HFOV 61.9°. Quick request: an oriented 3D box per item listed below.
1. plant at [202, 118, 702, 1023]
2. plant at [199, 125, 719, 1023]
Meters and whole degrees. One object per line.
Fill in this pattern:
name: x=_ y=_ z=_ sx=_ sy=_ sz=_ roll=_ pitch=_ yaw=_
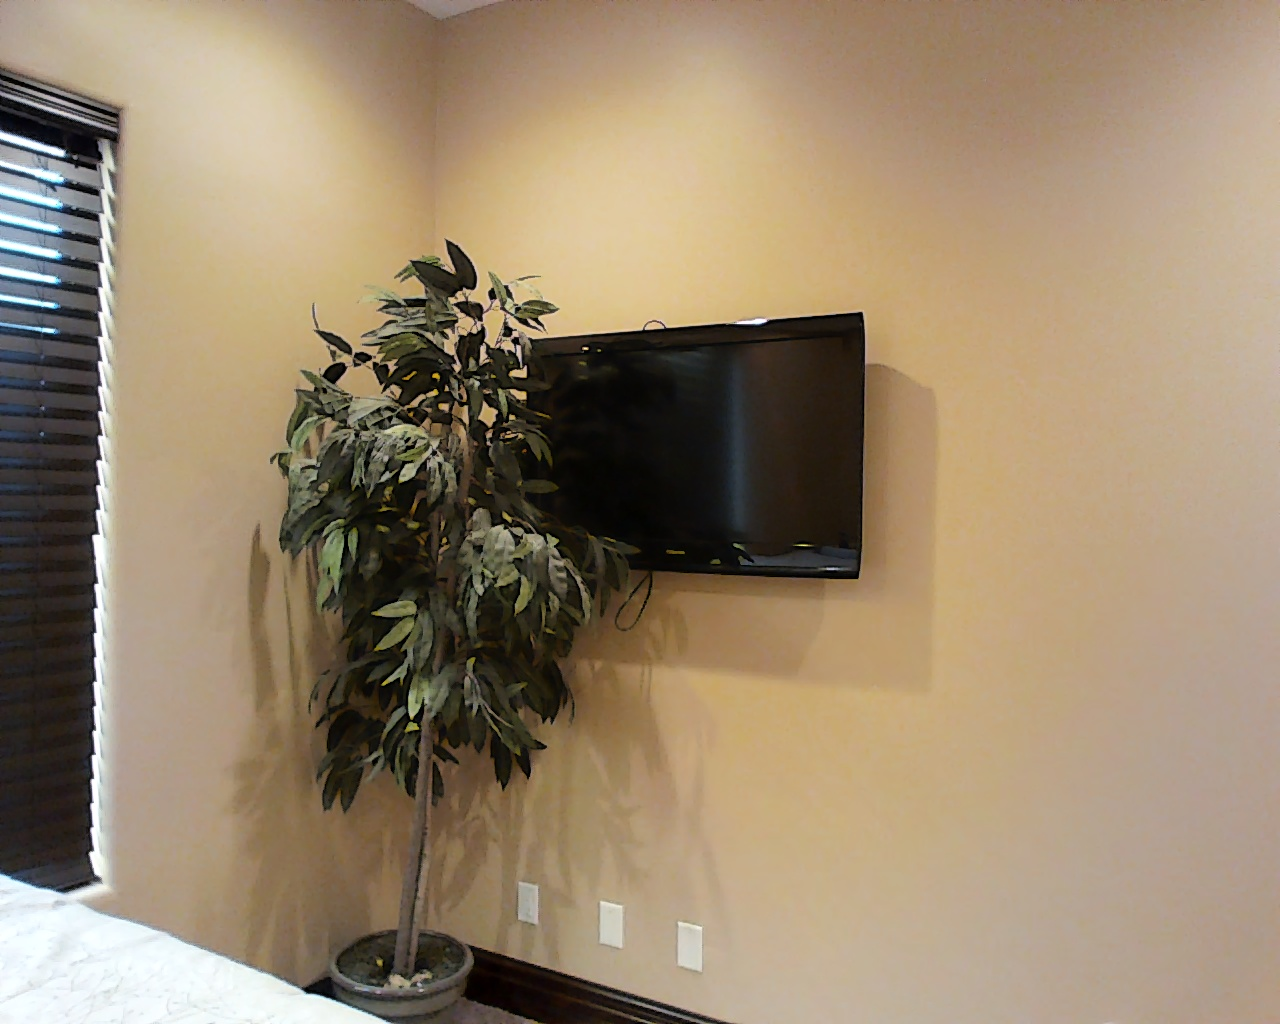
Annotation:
plant: x=-0.470 y=0.330 z=2.740 sx=1.000 sy=2.260 sz=0.760 roll=1 pitch=1 yaw=31
plant: x=-0.440 y=0.210 z=2.750 sx=0.990 sy=1.970 sz=0.860 roll=1 pitch=1 yaw=31
